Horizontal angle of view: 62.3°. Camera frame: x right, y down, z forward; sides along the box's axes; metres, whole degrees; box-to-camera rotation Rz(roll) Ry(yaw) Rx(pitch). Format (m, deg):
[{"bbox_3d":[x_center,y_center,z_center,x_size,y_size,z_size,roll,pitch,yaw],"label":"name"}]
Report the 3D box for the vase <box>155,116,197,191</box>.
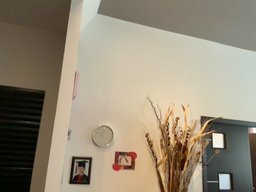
[{"bbox_3d":[0.490,1.190,2.180,0.330,1.920,0.280,8,-15,-17],"label":"vase"}]
